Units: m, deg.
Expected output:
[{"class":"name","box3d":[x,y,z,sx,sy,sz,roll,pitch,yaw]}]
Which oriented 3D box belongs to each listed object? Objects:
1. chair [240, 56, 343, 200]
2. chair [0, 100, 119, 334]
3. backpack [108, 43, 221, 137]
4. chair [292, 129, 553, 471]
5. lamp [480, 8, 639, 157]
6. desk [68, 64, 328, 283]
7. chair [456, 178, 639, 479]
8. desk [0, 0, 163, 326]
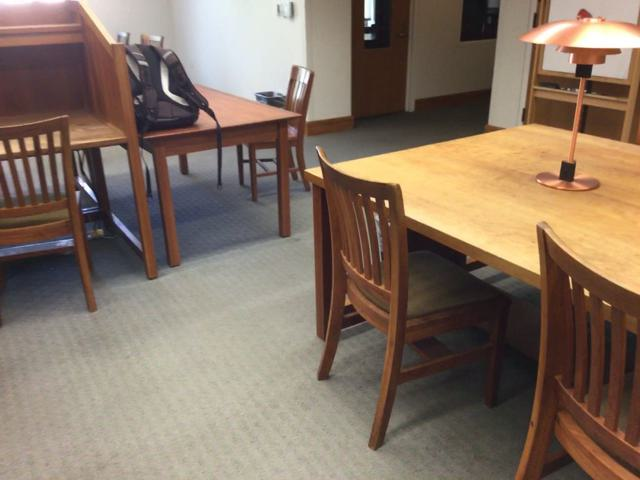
[{"class":"chair","box3d":[-0.220,-0.820,4.130,0.600,0.890,0.580,-4,23,-13]},{"class":"chair","box3d":[-1.340,-0.130,2.650,0.580,0.890,0.520,-13,26,-31]},{"class":"backpack","box3d":[-0.790,-0.780,2.940,0.410,0.390,0.420,-13,26,-31]},{"class":"chair","box3d":[0.300,0.150,2.010,0.570,0.910,0.590,-13,26,-31]},{"class":"lamp","box3d":[0.820,-0.530,1.870,0.340,0.400,0.420,-13,26,-31]},{"class":"desk","box3d":[-0.870,-0.580,3.750,1.140,0.880,1.750,-10,25,-25]},{"class":"chair","box3d":[0.790,0.400,1.350,0.620,0.900,0.600,-13,26,-31]},{"class":"desk","box3d":[-1.610,-0.450,2.750,1.290,1.400,1.010,-13,26,-31]}]
